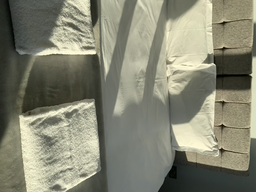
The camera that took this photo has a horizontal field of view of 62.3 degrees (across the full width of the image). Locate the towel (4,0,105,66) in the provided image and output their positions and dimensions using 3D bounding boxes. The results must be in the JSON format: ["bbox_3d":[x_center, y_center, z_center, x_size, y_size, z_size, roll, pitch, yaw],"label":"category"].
[{"bbox_3d":[-0.240,-0.320,0.790,0.410,0.070,0.400,-12,102,-60],"label":"towel"}]

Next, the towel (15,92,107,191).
[{"bbox_3d":[-0.230,0.200,0.850,0.390,0.060,0.390,-15,105,-60],"label":"towel"}]
